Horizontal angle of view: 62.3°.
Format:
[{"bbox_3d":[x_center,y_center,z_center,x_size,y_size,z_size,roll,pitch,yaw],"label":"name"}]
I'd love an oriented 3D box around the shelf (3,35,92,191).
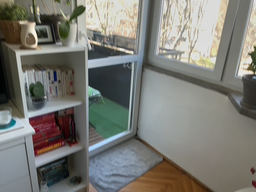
[{"bbox_3d":[-0.530,0.210,1.520,0.400,1.190,0.350,-15,30,-39],"label":"shelf"}]
